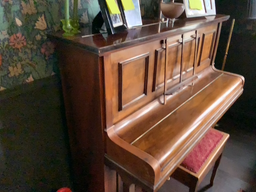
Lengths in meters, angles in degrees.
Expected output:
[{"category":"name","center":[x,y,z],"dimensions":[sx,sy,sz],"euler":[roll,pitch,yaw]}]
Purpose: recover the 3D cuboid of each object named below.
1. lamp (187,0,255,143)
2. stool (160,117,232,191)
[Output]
[{"category":"lamp","center":[1.100,-0.340,2.180],"dimensions":[0.460,1.480,0.590],"euler":[-19,34,-33]},{"category":"stool","center":[0.490,0.520,1.560],"dimensions":[0.270,0.510,0.490],"euler":[21,34,34]}]
